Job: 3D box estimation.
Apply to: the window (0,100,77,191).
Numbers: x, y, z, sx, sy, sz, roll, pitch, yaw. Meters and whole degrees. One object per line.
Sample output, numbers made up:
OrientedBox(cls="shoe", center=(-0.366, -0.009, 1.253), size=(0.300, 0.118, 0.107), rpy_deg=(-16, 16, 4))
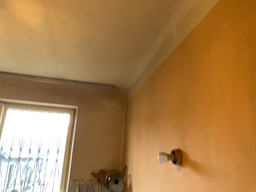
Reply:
OrientedBox(cls="window", center=(-1.650, 0.830, 3.020), size=(1.640, 1.460, 0.310), rpy_deg=(6, -17, -10))
